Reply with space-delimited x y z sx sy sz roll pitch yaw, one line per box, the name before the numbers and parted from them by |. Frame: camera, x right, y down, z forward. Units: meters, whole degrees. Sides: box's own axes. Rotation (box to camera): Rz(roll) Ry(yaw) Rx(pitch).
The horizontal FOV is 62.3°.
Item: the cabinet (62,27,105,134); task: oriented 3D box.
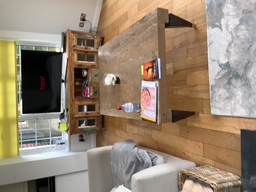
cabinet | -0.830 -0.270 3.950 0.470 0.660 1.800 5 96 62
